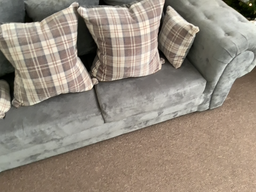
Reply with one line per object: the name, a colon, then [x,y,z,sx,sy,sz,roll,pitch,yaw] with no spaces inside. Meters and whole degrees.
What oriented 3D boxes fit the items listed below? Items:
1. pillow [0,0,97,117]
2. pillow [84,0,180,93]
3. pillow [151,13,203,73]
pillow: [-0.440,-0.210,1.100,0.410,0.450,0.280,-17,30,-11]
pillow: [0.040,-0.300,1.180,0.440,0.420,0.180,-18,31,-12]
pillow: [0.310,-0.350,1.360,0.170,0.280,0.280,-24,34,-12]
